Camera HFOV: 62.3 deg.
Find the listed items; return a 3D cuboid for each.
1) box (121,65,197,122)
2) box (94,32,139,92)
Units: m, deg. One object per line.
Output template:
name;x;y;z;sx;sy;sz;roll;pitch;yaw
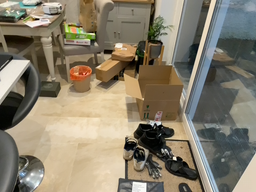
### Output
box;0.280;-0.040;2.250;0.680;0.330;0.540;3;35;-3
box;-0.120;-0.500;2.860;0.480;0.380;0.940;6;35;2
